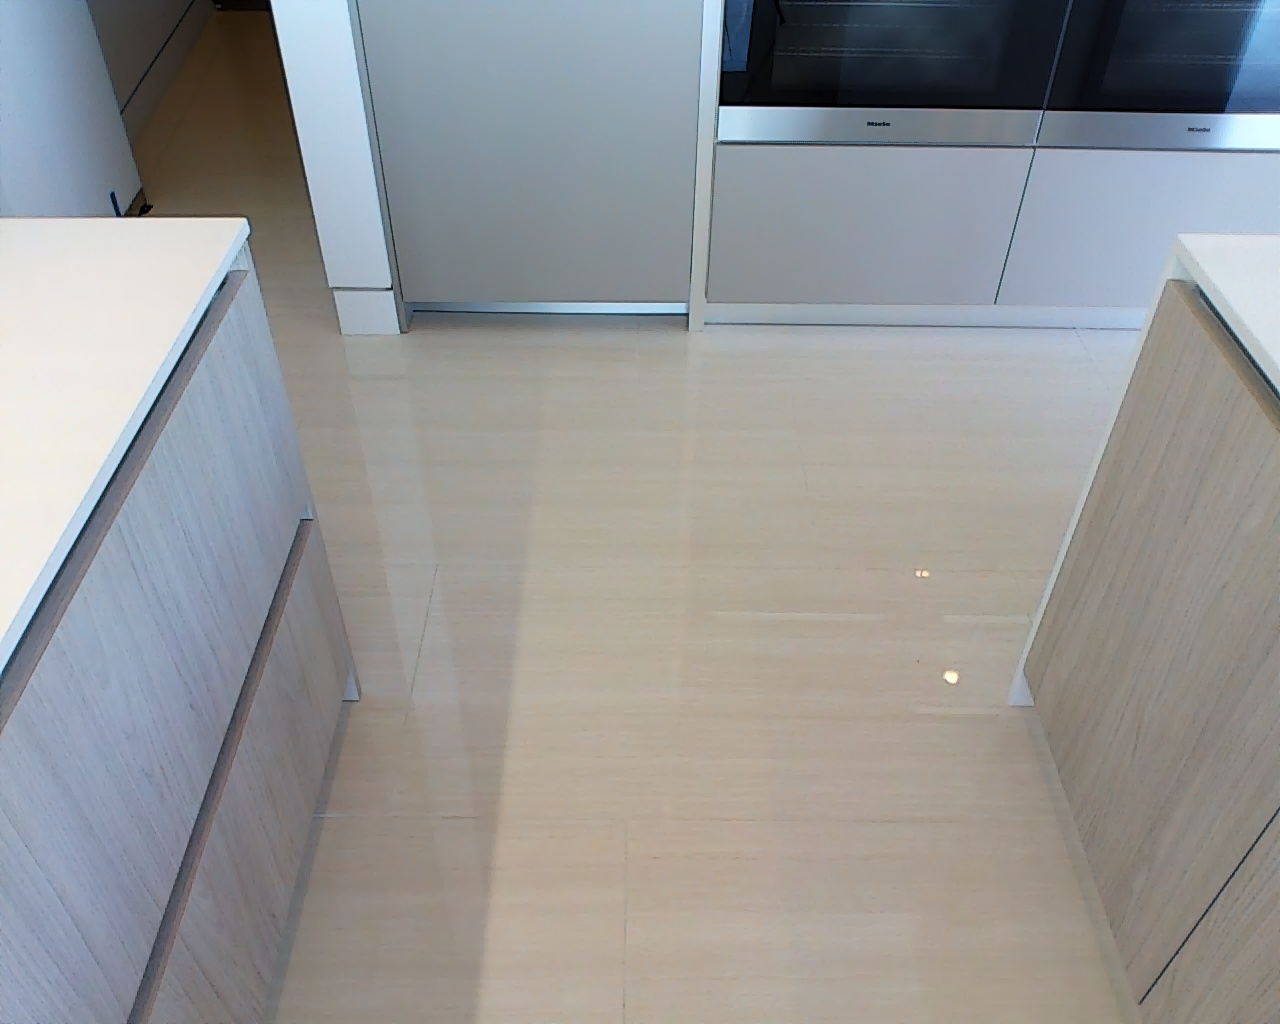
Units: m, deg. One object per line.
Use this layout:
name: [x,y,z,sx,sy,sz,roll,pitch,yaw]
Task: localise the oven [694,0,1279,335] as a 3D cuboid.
oven: [0.950,-1.200,2.310,1.590,1.830,0.120,0,42,0]
